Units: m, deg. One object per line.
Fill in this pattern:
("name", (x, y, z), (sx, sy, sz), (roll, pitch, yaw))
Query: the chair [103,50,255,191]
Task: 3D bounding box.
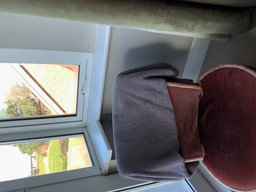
("chair", (0.370, 0.140, 1.030), (0.680, 0.760, 0.600), (-145, 57, -60))
